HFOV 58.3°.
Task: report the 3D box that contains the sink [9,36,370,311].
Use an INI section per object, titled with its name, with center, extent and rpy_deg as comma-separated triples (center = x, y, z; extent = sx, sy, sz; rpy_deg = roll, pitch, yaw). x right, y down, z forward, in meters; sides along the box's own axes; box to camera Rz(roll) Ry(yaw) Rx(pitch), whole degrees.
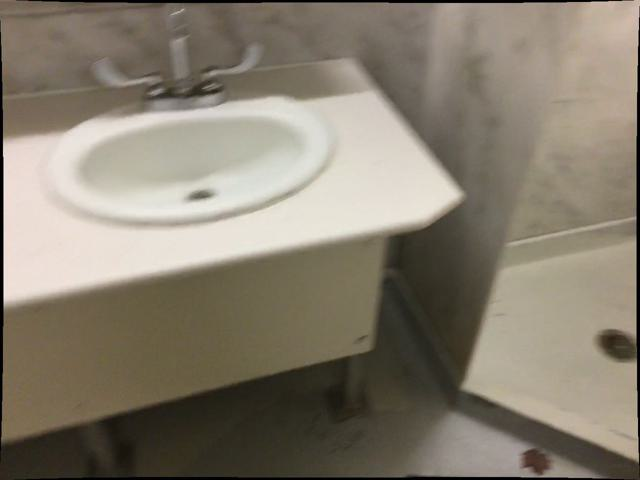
[sink]
center = -0.250, -0.170, 1.100
extent = 0.530, 0.200, 0.510
rpy_deg = -11, 42, -13

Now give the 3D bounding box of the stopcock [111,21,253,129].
[stopcock]
center = -0.280, -0.340, 1.170
extent = 0.250, 0.130, 0.160
rpy_deg = -11, 42, -13
